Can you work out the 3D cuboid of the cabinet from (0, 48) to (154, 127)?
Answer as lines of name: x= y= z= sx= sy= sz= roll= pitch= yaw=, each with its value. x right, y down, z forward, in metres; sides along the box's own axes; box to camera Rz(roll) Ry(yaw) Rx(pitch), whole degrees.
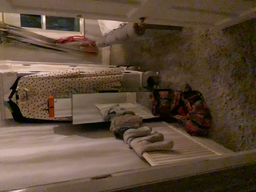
cabinet: x=-1.230 y=-0.300 z=3.730 sx=2.950 sy=2.220 sz=0.800 roll=-158 pitch=68 yaw=-68
